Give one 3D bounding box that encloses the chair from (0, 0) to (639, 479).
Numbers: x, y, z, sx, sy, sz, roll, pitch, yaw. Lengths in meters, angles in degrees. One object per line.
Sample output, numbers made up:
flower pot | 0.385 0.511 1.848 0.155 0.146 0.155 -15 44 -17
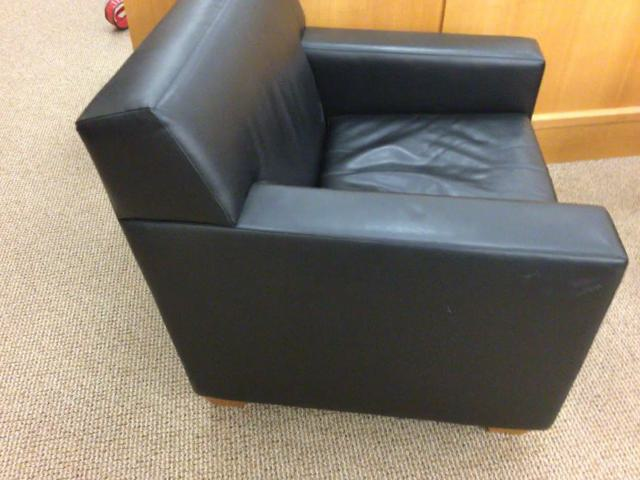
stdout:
chair | 0.110 -0.180 1.400 0.910 0.800 1.080 4 41 10
